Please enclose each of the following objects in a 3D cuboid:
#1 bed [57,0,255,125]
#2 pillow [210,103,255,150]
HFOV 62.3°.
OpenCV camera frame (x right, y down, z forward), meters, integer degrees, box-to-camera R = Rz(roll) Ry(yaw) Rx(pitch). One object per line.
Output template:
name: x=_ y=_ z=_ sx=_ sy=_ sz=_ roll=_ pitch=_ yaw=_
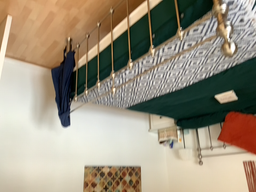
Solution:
bed: x=0.680 y=-0.280 z=2.130 sx=2.130 sy=0.650 sz=1.660 roll=13 pitch=155 yaw=-38
pillow: x=1.350 y=0.390 z=2.520 sx=0.400 sy=0.440 sz=0.500 roll=13 pitch=155 yaw=-38
